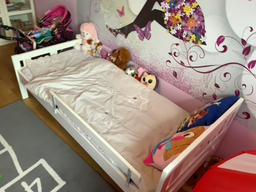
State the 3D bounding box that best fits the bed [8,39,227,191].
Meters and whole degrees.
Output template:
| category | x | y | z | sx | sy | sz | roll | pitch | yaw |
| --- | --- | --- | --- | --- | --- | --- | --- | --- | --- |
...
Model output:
| category | x | y | z | sx | sy | sz | roll | pitch | yaw |
| --- | --- | --- | --- | --- | --- | --- | --- | --- | --- |
| bed | -0.200 | 0.110 | 1.790 | 0.800 | 0.410 | 1.680 | -28 | 51 | -37 |
